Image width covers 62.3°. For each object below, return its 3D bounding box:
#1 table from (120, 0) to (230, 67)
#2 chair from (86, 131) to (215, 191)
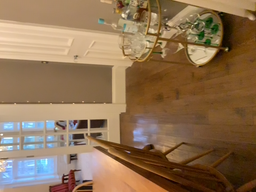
[{"bbox_3d":[0.330,-0.470,1.570,0.390,0.670,0.390,165,104,-67],"label":"table"},{"bbox_3d":[0.160,0.590,1.690,0.460,0.890,0.560,163,107,-67],"label":"chair"}]
